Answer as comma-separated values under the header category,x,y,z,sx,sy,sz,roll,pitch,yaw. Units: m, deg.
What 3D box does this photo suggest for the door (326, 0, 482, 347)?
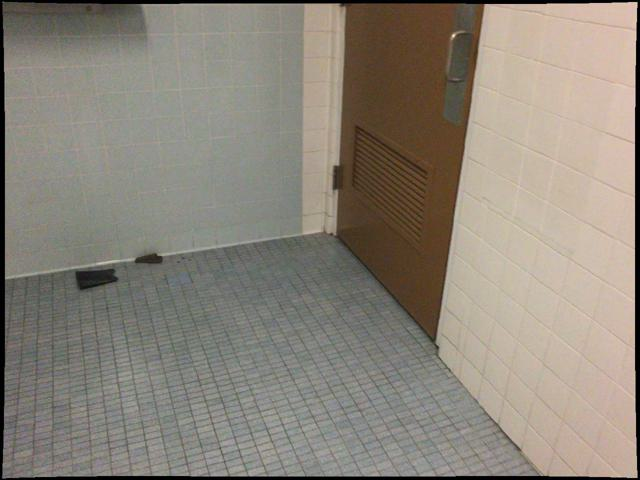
category,x,y,z,sx,sy,sz,roll,pitch,yaw
door,0.249,-0.341,2.220,0.060,1.273,0.800,-8,28,-22
